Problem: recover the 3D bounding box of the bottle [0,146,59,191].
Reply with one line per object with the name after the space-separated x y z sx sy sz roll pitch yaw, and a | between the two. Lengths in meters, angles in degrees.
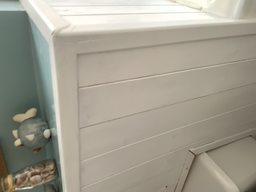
-0.260 0.200 0.560 0.070 0.130 0.070 45 138 46 | bottle
